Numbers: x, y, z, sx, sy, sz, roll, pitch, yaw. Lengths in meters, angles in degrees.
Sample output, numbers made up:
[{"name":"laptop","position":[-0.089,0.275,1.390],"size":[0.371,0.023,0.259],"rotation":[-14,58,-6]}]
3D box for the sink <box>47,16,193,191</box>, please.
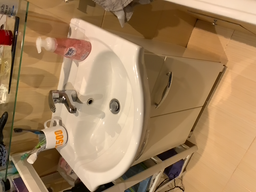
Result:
[{"name":"sink","position":[-0.090,0.060,0.790],"size":[0.430,0.140,0.570],"rotation":[35,116,35]}]
